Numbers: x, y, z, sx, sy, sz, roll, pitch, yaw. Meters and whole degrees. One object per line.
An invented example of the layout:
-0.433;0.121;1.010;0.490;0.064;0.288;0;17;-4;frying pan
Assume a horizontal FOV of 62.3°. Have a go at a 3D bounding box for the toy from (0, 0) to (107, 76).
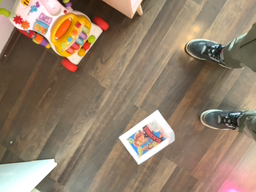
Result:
-0.420;-0.380;1.090;0.430;0.370;0.380;33;96;0;toy
